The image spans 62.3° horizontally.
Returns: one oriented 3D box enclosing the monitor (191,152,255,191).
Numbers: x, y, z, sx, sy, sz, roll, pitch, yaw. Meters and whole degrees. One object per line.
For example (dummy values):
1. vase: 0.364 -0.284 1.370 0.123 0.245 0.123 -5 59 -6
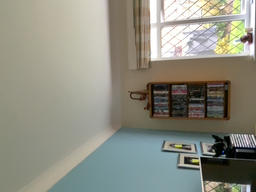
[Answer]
1. monitor: 0.610 0.480 1.200 0.740 0.470 0.040 -17 -74 -74
